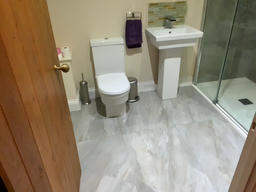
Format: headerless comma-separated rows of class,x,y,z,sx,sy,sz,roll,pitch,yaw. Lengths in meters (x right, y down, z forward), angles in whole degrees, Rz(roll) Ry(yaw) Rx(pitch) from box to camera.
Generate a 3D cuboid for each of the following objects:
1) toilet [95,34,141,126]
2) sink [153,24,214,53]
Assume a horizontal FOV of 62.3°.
toilet,-0.120,-0.200,2.390,0.400,0.800,0.650,-5,32,-7
sink,0.600,-0.660,2.400,0.540,0.180,0.420,-5,32,-7
